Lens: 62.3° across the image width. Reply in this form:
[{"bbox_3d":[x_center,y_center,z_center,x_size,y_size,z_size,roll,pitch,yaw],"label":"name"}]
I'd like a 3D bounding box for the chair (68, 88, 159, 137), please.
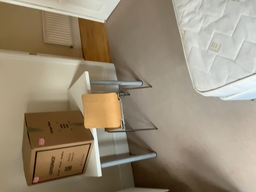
[{"bbox_3d":[-0.160,0.180,2.280,0.480,0.810,0.420,-19,75,54],"label":"chair"}]
